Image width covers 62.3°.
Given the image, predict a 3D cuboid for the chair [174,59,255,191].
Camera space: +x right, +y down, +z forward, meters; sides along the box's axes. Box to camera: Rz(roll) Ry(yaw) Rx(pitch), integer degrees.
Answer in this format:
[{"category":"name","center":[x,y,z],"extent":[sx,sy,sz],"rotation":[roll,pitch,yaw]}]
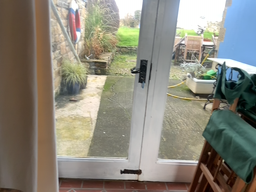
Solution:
[{"category":"chair","center":[0.520,0.310,1.220],"extent":[0.190,0.920,0.650],"rotation":[5,19,-4]}]
